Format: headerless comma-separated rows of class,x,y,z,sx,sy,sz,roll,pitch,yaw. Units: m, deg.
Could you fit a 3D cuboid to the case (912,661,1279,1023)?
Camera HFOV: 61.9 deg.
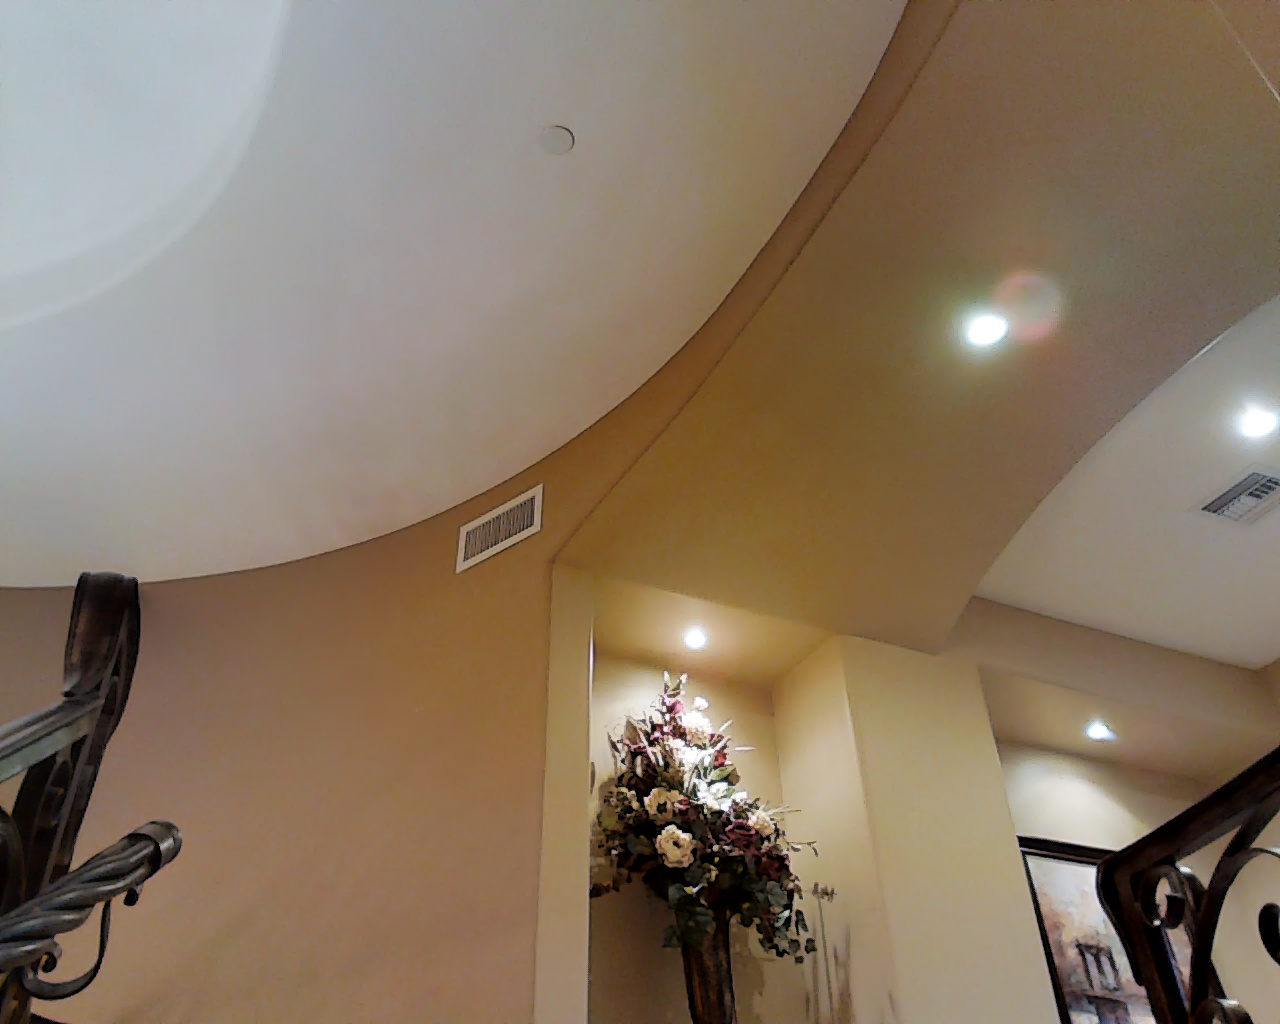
case,1.989,1.551,4.030,1.660,1.620,0.490,15,-40,-19

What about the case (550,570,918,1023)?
case,0.260,1.110,3.360,0.910,1.660,0.540,15,-40,-19
